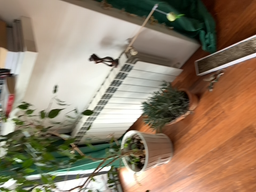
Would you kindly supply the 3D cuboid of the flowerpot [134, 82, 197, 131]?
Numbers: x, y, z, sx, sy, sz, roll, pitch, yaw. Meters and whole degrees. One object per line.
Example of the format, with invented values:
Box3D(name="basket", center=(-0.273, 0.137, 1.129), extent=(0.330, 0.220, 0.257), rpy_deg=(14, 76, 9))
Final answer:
Box3D(name="flowerpot", center=(0.300, 0.100, 1.760), extent=(0.340, 0.300, 0.300), rpy_deg=(-32, 62, 48))
